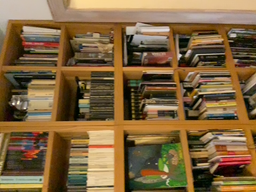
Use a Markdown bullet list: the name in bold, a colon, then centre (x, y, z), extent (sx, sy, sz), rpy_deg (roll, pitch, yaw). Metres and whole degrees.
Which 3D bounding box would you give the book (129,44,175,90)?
- **book**: centre (0.170, -0.220, 1.640), extent (0.200, 0.300, 0.280), rpy_deg (98, 171, -63)

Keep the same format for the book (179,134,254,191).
- **book**: centre (0.560, 0.470, 1.430), extent (0.310, 0.310, 0.350), rpy_deg (99, 171, -65)

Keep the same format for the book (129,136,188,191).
- **book**: centre (0.180, 0.480, 1.410), extent (0.280, 0.320, 0.370), rpy_deg (99, 170, -67)

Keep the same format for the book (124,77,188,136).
- **book**: centre (0.170, 0.080, 1.480), extent (0.260, 0.370, 0.330), rpy_deg (99, 171, -65)

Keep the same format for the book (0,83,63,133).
- **book**: centre (-0.650, 0.090, 1.460), extent (0.280, 0.320, 0.250), rpy_deg (98, 171, -64)
